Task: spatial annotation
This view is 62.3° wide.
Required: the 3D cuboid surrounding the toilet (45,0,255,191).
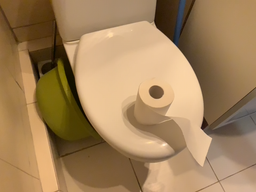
[{"bbox_3d":[-0.010,-0.130,0.730,0.390,0.740,0.700,-17,65,-15],"label":"toilet"}]
